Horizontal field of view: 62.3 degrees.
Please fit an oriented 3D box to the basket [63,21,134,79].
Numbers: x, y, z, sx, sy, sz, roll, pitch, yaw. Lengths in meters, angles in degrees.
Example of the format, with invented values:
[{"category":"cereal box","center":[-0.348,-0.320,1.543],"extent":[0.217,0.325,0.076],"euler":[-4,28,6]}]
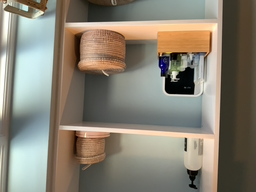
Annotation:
[{"category":"basket","center":[-0.130,-0.220,1.100],"extent":[0.280,0.220,0.300],"euler":[3,178,9]}]
